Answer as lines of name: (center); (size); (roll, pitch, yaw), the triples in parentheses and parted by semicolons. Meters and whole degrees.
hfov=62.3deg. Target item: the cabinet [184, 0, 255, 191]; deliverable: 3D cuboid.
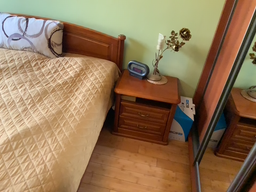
cabinet: (0.890, -0.250, 0.790); (0.630, 2.540, 1.800); (11, 34, 5)
